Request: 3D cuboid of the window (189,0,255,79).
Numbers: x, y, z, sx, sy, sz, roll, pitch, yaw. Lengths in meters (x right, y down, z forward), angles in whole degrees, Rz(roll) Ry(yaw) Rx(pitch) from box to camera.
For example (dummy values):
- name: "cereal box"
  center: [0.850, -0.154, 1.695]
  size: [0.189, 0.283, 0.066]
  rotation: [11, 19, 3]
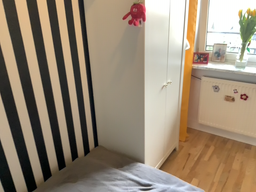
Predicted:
- name: "window"
  center: [1.230, -0.980, 2.070]
  size: [1.100, 1.620, 0.110]
  rotation: [12, 26, 29]

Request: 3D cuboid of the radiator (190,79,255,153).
- name: "radiator"
  center: [1.210, 0.230, 2.440]
  size: [0.900, 0.720, 0.140]
  rotation: [13, 27, 30]
